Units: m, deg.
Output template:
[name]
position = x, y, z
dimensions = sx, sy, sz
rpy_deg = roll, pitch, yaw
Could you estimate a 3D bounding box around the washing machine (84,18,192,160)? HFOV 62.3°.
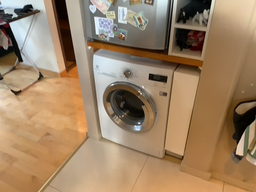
[washing machine]
position = 0.110, -0.080, 1.810
dimensions = 0.600, 0.930, 0.610
rpy_deg = 14, 38, 20
